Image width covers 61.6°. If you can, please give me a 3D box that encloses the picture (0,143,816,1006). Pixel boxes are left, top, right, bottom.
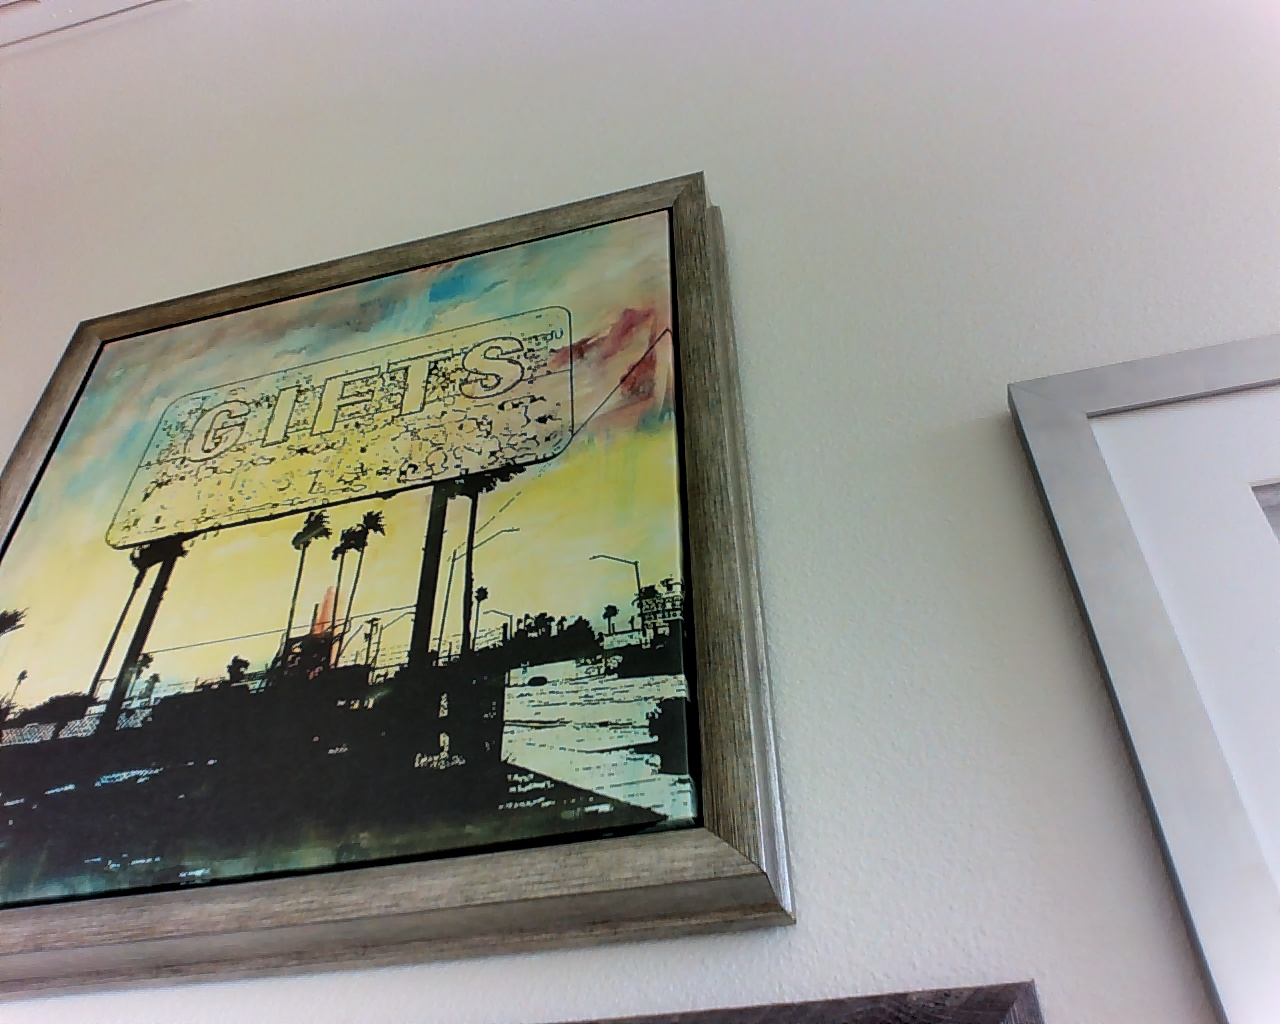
[{"bbox_3d":[-0.230,0.000,0.820,0.650,0.670,0.060,-10,-42,12],"label":"picture"}]
